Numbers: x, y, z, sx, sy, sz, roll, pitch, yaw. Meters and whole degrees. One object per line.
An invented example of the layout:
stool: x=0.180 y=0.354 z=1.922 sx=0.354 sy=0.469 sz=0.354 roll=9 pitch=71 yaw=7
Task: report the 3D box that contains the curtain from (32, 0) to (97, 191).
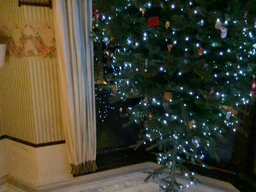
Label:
curtain: x=-0.810 y=-0.380 z=2.930 sx=0.630 sy=3.390 sz=0.590 roll=2 pitch=-167 yaw=2
